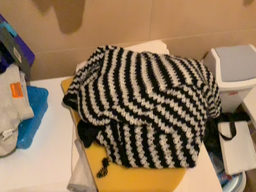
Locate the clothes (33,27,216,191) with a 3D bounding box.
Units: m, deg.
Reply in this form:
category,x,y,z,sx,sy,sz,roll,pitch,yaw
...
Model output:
category,x,y,z,sx,sy,sz,roll,pitch,yaw
clothes,-0.020,0.010,0.620,0.360,0.170,0.440,-4,52,-3
